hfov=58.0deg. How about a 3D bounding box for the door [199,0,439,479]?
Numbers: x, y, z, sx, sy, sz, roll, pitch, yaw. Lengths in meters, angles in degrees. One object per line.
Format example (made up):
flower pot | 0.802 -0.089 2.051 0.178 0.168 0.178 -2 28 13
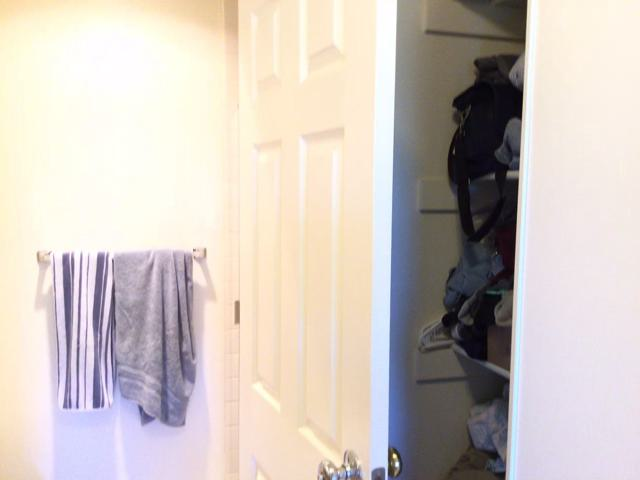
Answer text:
door | -0.080 0.360 1.290 0.160 2.040 0.840 -1 4 -26
